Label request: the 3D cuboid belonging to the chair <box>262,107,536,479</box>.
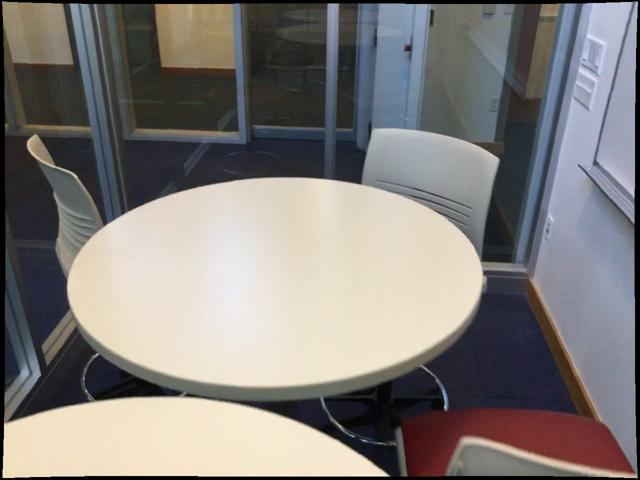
[{"bbox_3d":[0.230,0.230,1.910,0.540,1.111,0.600,21,36,31],"label":"chair"}]
